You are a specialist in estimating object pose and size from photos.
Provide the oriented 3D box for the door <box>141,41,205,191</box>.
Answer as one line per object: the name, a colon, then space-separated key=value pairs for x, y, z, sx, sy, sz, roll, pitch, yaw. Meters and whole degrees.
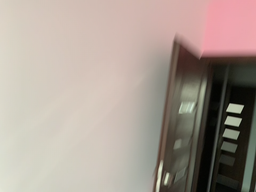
door: x=0.350 y=0.740 z=1.790 sx=0.140 sy=2.190 sz=0.810 roll=8 pitch=1 yaw=30
